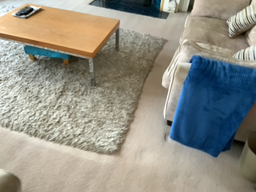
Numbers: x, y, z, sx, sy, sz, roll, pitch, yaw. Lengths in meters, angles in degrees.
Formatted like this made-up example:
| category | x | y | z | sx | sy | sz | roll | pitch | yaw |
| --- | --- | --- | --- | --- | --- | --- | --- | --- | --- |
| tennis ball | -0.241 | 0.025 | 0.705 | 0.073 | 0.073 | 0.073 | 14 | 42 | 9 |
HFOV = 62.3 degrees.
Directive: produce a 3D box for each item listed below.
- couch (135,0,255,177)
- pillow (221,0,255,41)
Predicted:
| category | x | y | z | sx | sy | sz | roll | pitch | yaw |
| --- | --- | --- | --- | --- | --- | --- | --- | --- | --- |
| couch | 0.970 | -0.440 | 2.070 | 1.160 | 0.800 | 2.060 | 16 | 43 | 12 |
| pillow | 1.140 | -0.780 | 2.160 | 0.120 | 0.330 | 0.350 | 40 | 42 | -16 |
